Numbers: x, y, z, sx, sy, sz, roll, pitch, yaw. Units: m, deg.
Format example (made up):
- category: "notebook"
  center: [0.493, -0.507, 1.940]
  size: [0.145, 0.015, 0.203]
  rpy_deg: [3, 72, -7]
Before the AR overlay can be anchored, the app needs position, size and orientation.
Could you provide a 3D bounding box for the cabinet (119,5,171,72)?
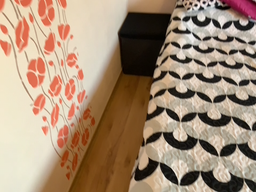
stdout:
- category: "cabinet"
  center: [0.170, -0.540, 1.970]
  size: [0.400, 0.440, 0.420]
  rpy_deg: [5, 44, 8]
